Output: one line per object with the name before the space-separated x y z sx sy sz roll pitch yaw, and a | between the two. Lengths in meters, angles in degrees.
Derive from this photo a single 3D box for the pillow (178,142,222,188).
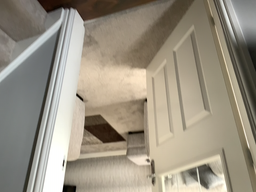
pillow | 0.750 0.730 2.210 0.330 0.380 0.350 -12 149 21
